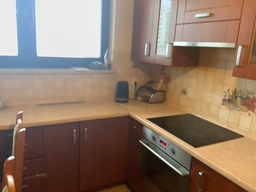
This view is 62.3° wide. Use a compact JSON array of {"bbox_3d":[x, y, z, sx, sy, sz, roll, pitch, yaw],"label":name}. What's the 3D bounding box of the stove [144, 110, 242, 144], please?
[{"bbox_3d":[0.520,0.230,1.790,0.520,0.010,0.600,-3,15,-28],"label":"stove"}]
